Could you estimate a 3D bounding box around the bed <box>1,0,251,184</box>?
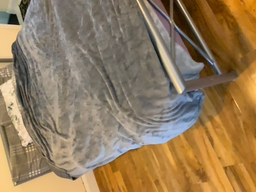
[{"bbox_3d":[-0.410,-0.270,1.910,2.030,0.620,1.690,-33,74,45],"label":"bed"}]
